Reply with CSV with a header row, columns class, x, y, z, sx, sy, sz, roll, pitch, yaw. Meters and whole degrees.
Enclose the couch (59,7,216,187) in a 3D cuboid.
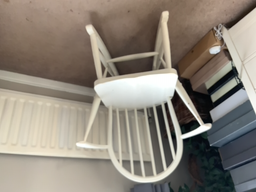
class,x,y,z,sx,sy,sz,roll,pitch,yaw
couch,0.030,0.040,1.190,0.560,0.730,0.600,-8,148,3
